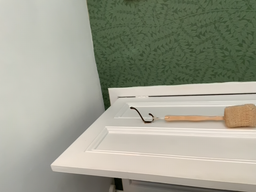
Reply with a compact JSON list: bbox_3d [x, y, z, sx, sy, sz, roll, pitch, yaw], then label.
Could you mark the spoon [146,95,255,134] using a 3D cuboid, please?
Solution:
[{"bbox_3d":[0.370,0.090,1.070,0.180,0.520,0.120,-44,-51,-63],"label":"spoon"}]
